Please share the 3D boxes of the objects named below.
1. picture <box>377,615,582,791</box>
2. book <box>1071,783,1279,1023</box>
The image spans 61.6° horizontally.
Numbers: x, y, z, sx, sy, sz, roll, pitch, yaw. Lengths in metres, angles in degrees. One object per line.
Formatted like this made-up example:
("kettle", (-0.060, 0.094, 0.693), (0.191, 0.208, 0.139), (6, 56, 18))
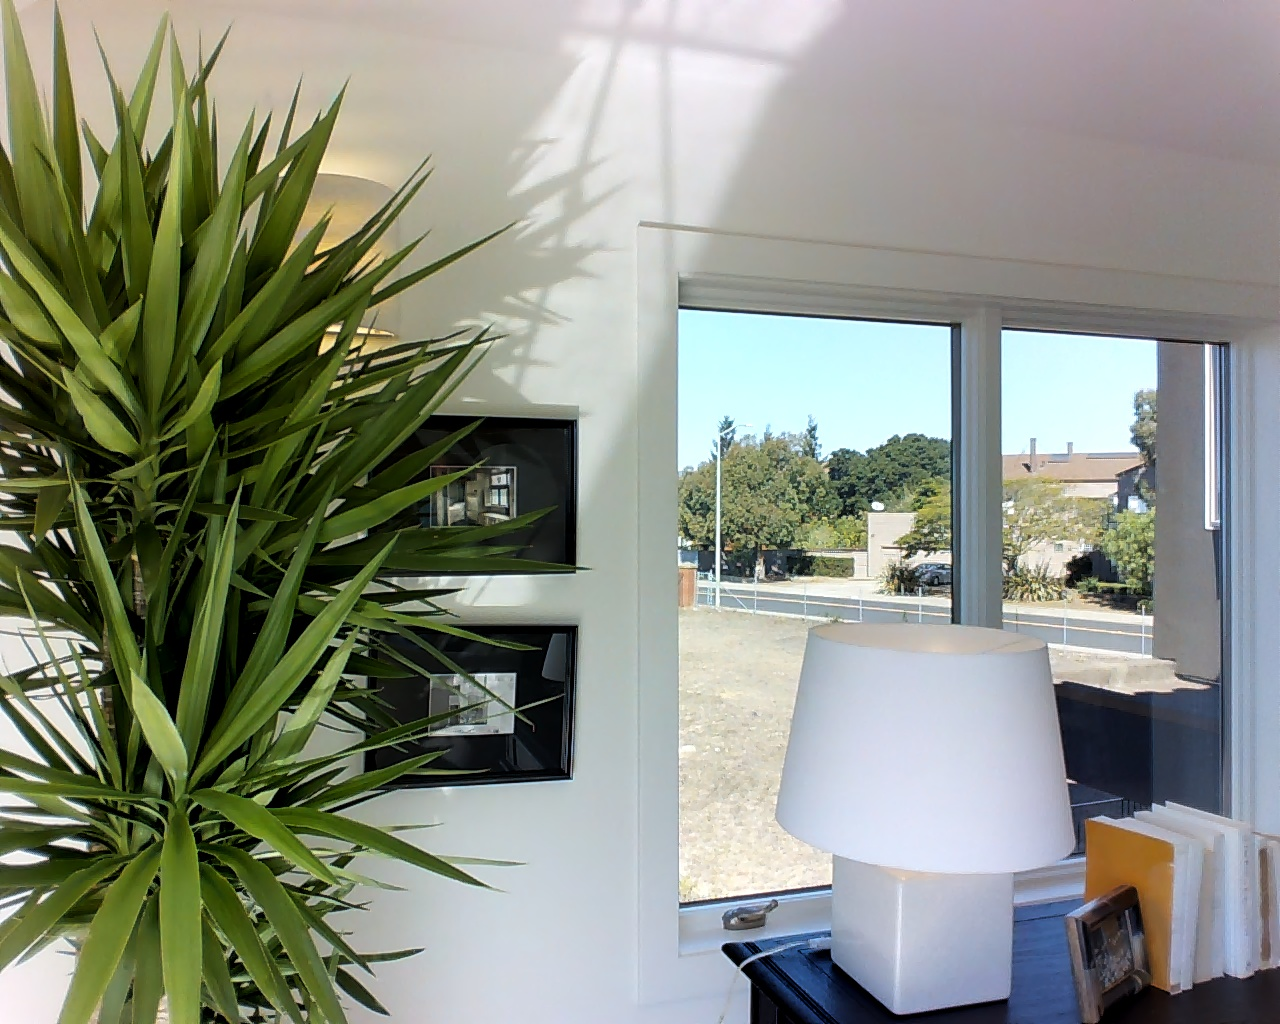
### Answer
("picture", (-0.320, 0.380, 2.170), (0.410, 0.330, 0.030), (0, 0, -16))
("book", (0.950, 0.640, 1.790), (0.380, 0.290, 0.220), (0, 0, -20))
